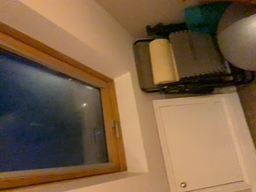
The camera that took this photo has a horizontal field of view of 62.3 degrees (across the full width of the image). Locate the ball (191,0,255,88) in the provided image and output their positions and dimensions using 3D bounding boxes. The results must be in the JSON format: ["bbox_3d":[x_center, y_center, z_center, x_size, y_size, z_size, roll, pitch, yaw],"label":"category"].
[{"bbox_3d":[0.870,-0.430,1.440,0.640,0.520,0.520,119,144,-68],"label":"ball"}]
